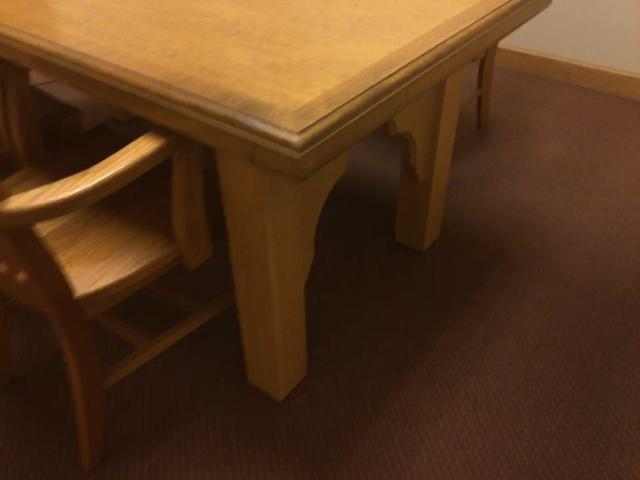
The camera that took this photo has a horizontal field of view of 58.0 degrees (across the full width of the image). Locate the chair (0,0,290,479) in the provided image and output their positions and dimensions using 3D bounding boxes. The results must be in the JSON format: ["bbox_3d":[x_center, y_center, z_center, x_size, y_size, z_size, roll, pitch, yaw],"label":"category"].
[{"bbox_3d":[-0.530,-0.030,1.110,0.620,0.850,0.660,26,48,29],"label":"chair"}]
